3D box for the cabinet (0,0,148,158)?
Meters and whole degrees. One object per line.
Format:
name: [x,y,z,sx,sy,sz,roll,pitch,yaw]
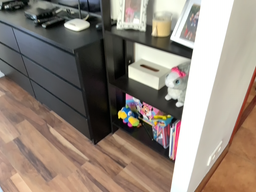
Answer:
cabinet: [-0.660,-0.310,1.880,1.670,0.760,0.520,27,45,33]
